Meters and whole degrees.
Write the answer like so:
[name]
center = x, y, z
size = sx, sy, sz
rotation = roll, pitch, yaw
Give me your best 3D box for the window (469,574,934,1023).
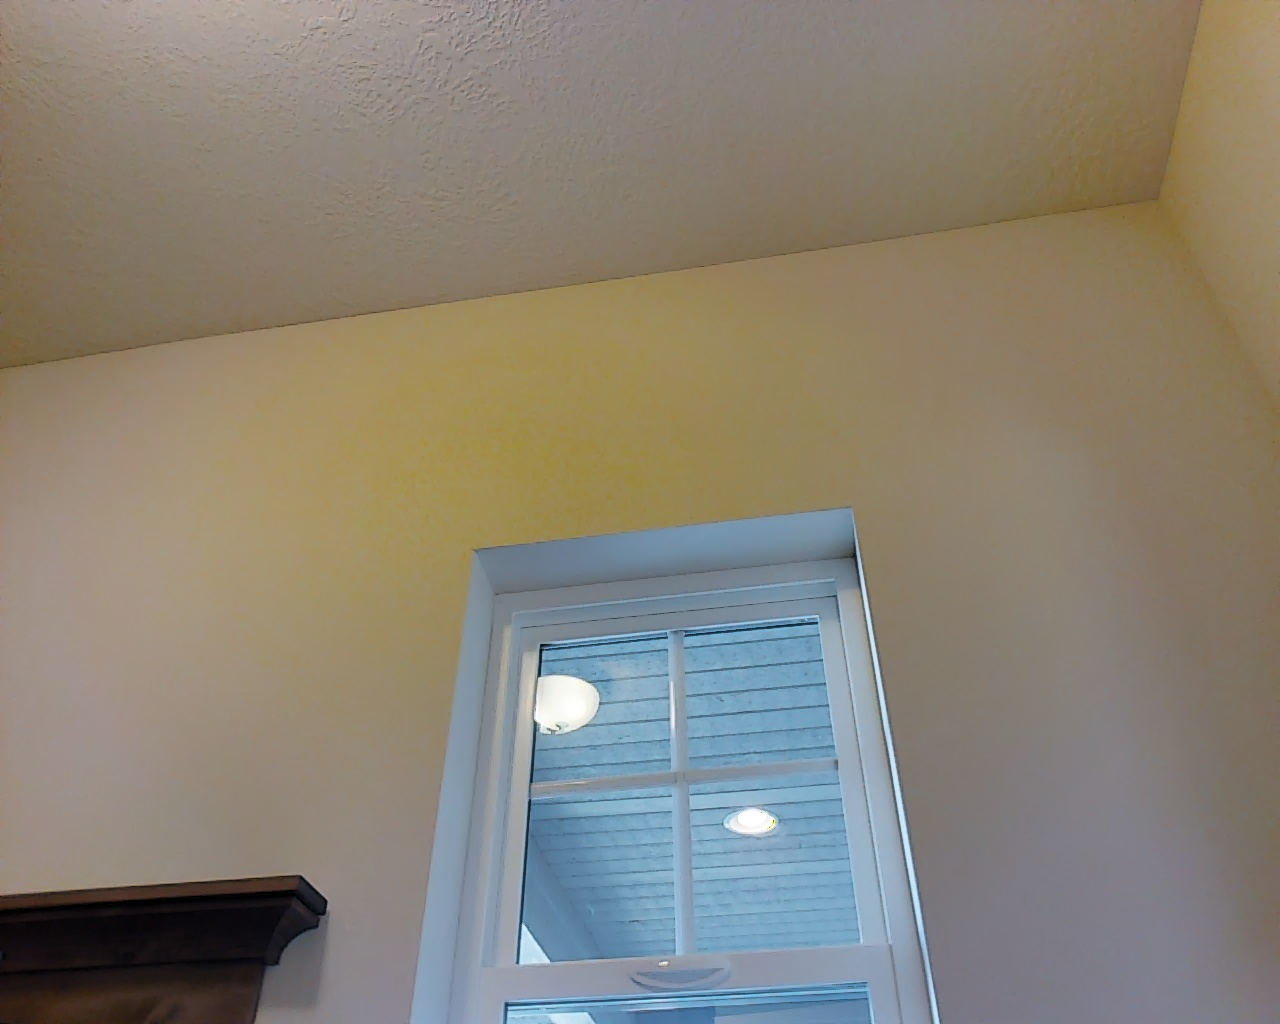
[window]
center = 0.070, 0.590, 1.350
size = 0.560, 1.170, 0.070
rotation = -6, -42, 7
